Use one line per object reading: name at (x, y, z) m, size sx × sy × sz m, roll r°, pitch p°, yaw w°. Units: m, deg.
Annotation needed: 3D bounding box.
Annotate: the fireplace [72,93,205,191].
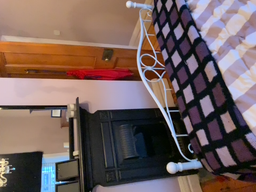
fireplace at (0.060, 0.470, 2.250) m, size 0.300 × 1.200 × 0.980 m, roll 117°, pitch 147°, yaw -55°
